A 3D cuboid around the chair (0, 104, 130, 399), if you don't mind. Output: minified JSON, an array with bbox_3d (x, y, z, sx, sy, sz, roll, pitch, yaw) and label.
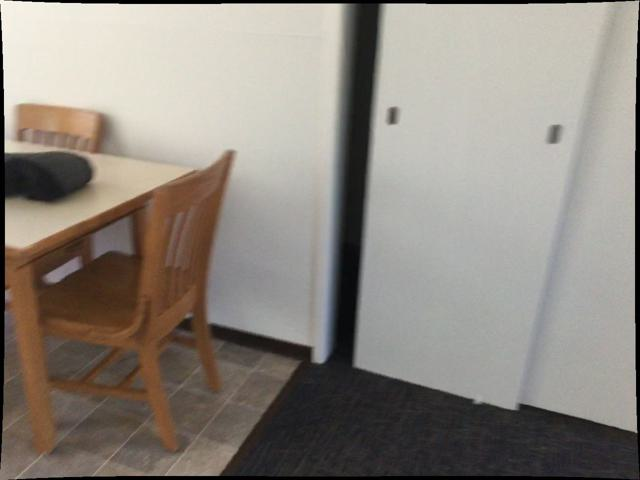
[{"bbox_3d":[-1.218,0.000,2.220,0.619,0.901,0.570,10,25,18],"label":"chair"}]

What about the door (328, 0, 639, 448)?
[{"bbox_3d":[0.639,-0.311,1.770,1.168,1.923,0.210,10,25,18],"label":"door"}]

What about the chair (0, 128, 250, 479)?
[{"bbox_3d":[-0.629,0.170,1.840,0.619,0.891,0.520,10,25,18],"label":"chair"}]

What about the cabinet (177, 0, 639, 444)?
[{"bbox_3d":[0.609,-0.551,2.210,1.907,1.973,1.120,10,25,18],"label":"cabinet"}]
